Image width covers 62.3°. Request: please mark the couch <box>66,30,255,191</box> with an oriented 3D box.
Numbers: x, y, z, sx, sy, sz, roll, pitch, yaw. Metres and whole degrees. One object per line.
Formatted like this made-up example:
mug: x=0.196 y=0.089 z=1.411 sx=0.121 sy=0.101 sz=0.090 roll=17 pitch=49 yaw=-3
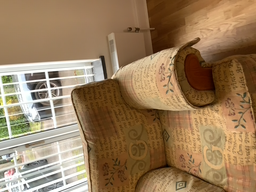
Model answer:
couch: x=0.260 y=0.240 z=1.390 sx=1.010 sy=0.880 sz=1.040 roll=-1 pitch=98 yaw=57
